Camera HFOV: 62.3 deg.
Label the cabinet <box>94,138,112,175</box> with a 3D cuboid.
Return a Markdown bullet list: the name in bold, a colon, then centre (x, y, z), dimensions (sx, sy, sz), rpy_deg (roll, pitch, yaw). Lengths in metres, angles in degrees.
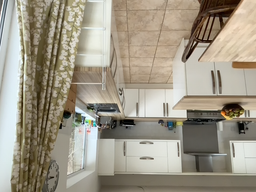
- **cabinet**: centre (-0.570, 1.400, 4.950), dimensions (0.360, 0.790, 0.260), rpy_deg (1, 167, 0)

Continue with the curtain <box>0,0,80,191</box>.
- **curtain**: centre (-0.650, -0.100, 1.690), dimensions (0.290, 2.230, 0.540), rpy_deg (1, 167, 0)

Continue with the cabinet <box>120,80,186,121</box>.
- **cabinet**: centre (0.610, 0.140, 5.450), dimensions (1.560, 0.930, 0.590), rpy_deg (1, 167, 1)

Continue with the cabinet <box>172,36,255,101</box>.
- **cabinet**: centre (1.560, -0.390, 3.190), dimensions (1.660, 0.850, 0.460), rpy_deg (1, 167, 1)
